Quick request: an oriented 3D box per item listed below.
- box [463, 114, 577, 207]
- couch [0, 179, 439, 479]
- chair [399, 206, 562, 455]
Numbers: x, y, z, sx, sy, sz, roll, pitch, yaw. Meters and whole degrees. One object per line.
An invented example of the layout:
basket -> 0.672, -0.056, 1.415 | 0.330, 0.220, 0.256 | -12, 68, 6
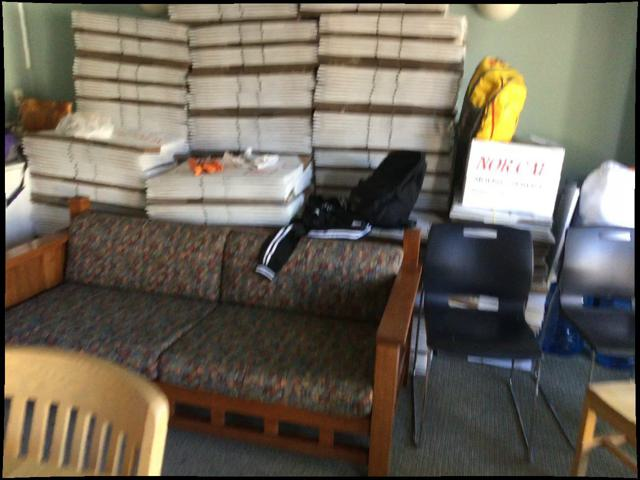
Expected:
box -> 0.999, -0.420, 2.940 | 0.470, 0.350, 0.450 | 7, 21, 15
couch -> -0.509, 0.310, 2.660 | 1.918, 0.821, 0.980 | 7, 21, 15
chair -> 0.649, 0.350, 2.510 | 0.519, 0.811, 0.640 | 5, 20, 10
